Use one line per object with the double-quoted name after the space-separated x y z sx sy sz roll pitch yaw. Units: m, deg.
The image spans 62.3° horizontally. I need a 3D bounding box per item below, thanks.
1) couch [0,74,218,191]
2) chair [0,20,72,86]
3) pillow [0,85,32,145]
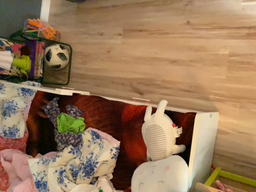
-0.430 0.370 1.400 1.690 0.730 0.870 10 93 31 "couch"
-0.850 -0.330 1.790 0.410 0.550 0.410 8 92 31 "chair"
-0.950 0.130 1.660 0.370 0.150 0.420 5 90 31 "pillow"
